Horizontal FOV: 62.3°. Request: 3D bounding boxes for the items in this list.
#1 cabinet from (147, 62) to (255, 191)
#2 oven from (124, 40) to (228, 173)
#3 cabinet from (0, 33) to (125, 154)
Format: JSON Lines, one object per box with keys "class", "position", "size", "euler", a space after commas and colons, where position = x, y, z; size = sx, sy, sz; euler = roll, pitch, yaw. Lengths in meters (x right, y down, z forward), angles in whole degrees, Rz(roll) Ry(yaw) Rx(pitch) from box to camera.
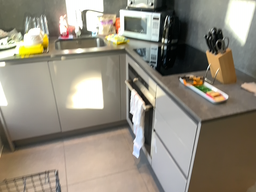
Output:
{"class": "cabinet", "position": [0.500, 0.320, 1.410], "size": [0.560, 0.910, 0.490], "euler": [-9, 31, -16]}
{"class": "oven", "position": [0.330, 0.060, 1.870], "size": [0.560, 0.910, 0.620], "euler": [-9, 31, -16]}
{"class": "cabinet", "position": [-0.700, -0.080, 2.140], "size": [1.210, 0.880, 0.600], "euler": [-9, 31, -16]}
